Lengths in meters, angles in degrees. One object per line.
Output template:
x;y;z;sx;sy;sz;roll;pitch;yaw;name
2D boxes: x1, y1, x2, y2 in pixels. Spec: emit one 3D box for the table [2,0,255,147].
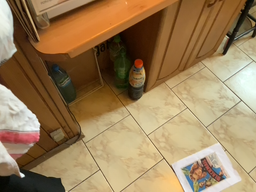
0.310;-0.420;1.070;1.510;0.750;0.400;-30;68;-17;table
